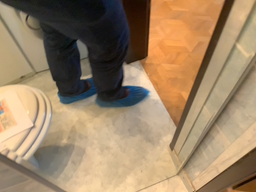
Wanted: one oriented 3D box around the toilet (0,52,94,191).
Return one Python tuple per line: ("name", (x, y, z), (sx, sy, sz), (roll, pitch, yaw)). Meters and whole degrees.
("toilet", (-0.490, 0.180, 1.020), (0.420, 0.500, 0.400), (39, 66, 23))
